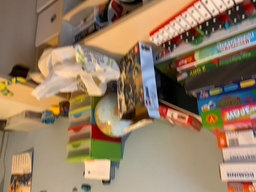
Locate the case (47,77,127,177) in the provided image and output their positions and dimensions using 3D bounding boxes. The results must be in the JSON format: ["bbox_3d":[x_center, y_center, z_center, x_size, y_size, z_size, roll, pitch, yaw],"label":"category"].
[{"bbox_3d":[-0.210,0.190,1.160,0.270,0.460,0.300,-15,156,28],"label":"case"}]

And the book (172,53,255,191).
[{"bbox_3d":[0.400,0.130,0.700,0.370,0.420,0.310,-15,156,28],"label":"book"}]
